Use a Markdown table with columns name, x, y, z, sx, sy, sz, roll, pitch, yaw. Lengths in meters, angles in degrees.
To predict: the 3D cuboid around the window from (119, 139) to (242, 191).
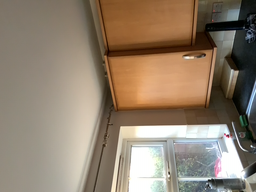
| name | x | y | z | sx | sy | sz | roll | pitch | yaw |
| --- | --- | --- | --- | --- | --- | --- | --- | --- | --- |
| window | 0.440 | 0.730 | 1.920 | 0.800 | 1.000 | 0.090 | -82 | -12 | -52 |
